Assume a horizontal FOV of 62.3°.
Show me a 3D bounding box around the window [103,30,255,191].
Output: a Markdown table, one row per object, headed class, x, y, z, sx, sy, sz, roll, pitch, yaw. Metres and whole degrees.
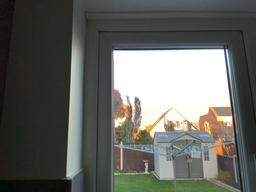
| class | x | y | z | sx | sy | sz | roll | pitch | yaw |
| --- | --- | --- | --- | --- | --- | --- | --- | --- | --- |
| window | 0.470 | 0.210 | 0.730 | 1.100 | 0.910 | 0.090 | -1 | -12 | -2 |
